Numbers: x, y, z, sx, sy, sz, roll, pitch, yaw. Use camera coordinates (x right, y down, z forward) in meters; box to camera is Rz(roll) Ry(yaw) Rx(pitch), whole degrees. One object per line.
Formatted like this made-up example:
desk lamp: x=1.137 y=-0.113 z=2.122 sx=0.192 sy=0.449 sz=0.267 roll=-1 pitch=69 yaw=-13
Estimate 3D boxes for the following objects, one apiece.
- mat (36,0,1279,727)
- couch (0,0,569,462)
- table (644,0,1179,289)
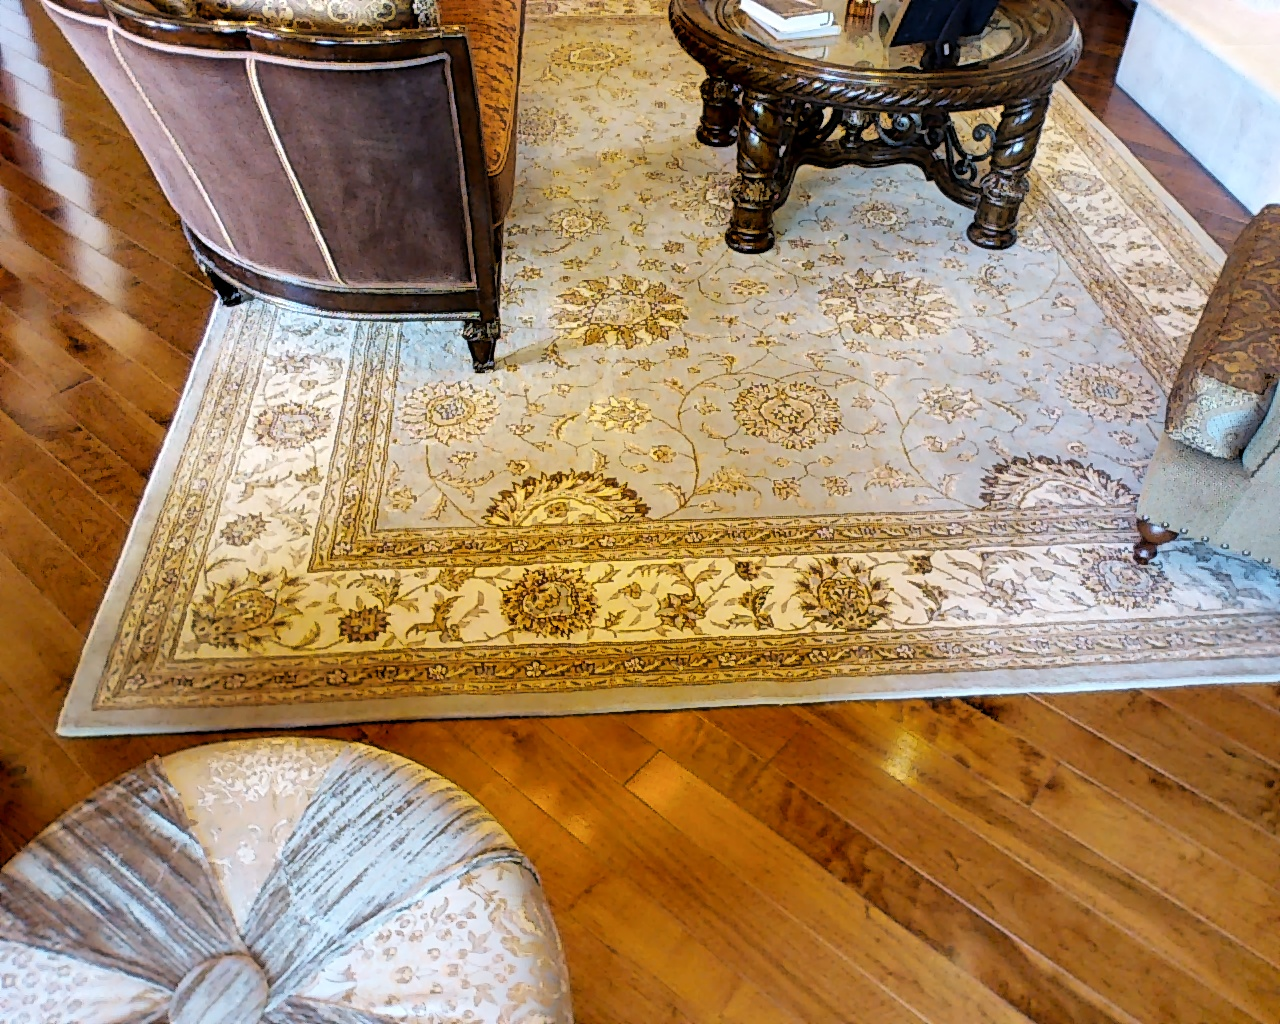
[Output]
mat: x=0.300 y=-1.070 z=3.490 sx=2.930 sy=0.150 sz=4.090 roll=-2 pitch=42 yaw=-3
couch: x=-0.910 y=-1.330 z=3.060 sx=1.350 sy=1.000 sz=2.480 roll=-2 pitch=42 yaw=-4
table: x=0.700 y=-1.300 z=3.380 sx=1.280 sy=0.600 sz=1.260 roll=-2 pitch=42 yaw=-4
